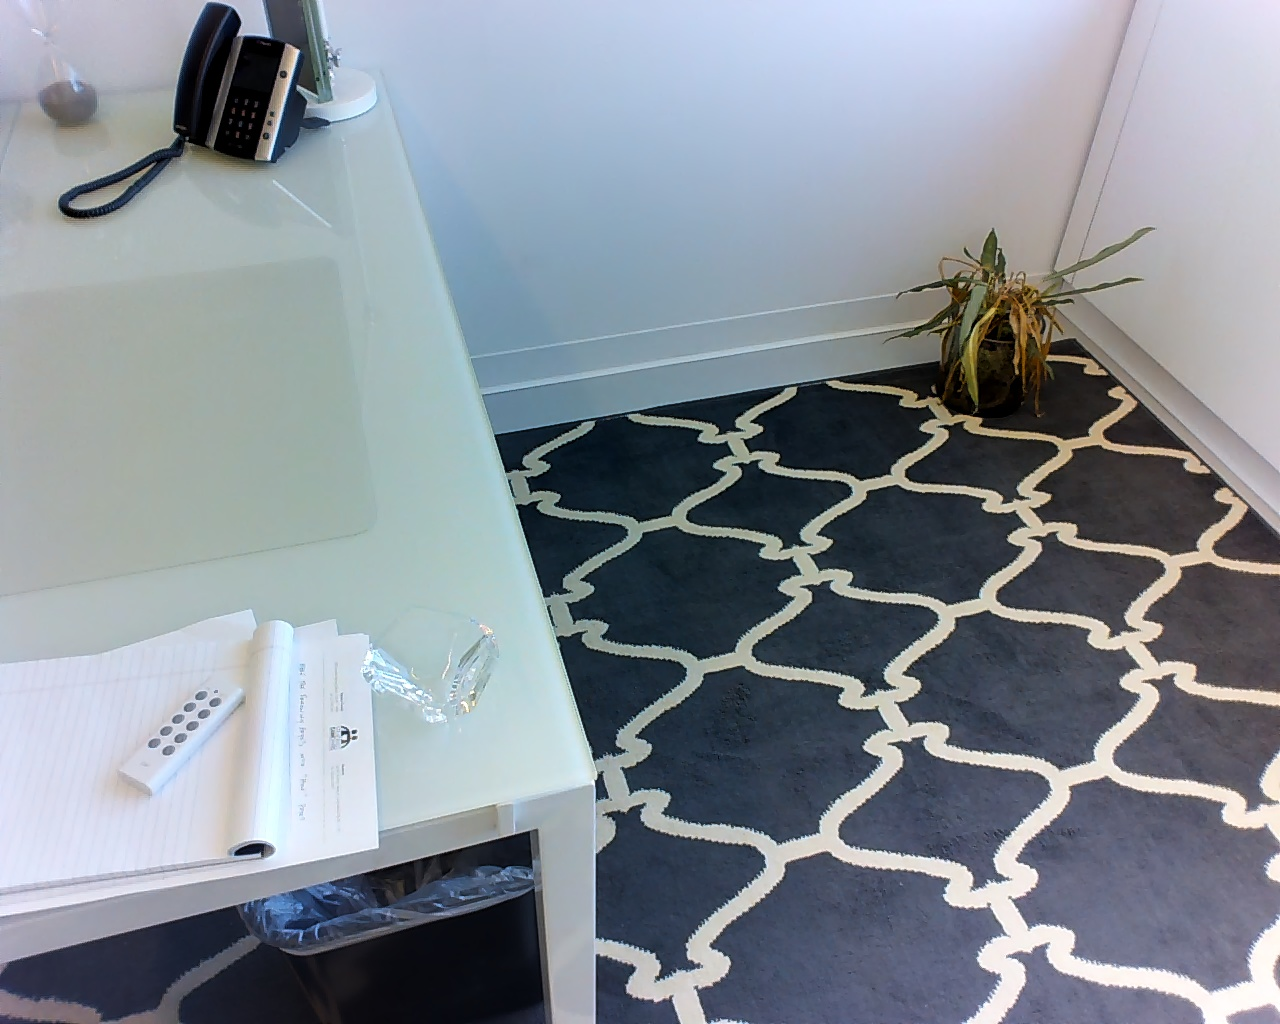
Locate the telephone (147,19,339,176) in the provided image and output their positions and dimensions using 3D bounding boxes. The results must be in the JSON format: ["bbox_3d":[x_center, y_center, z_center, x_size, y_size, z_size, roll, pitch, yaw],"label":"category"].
[{"bbox_3d":[-0.600,-0.640,1.650,0.200,0.160,0.190,3,42,1],"label":"telephone"}]

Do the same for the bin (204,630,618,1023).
[{"bbox_3d":[-0.280,0.460,1.360,0.420,0.420,0.350,-11,44,-13],"label":"bin"}]
